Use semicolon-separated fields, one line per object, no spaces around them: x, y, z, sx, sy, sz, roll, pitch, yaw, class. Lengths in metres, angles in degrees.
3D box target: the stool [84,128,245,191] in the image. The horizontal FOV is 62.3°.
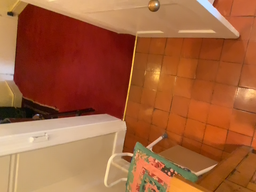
0.250;0.530;1.400;0.750;0.720;0.320;16;101;38;stool
